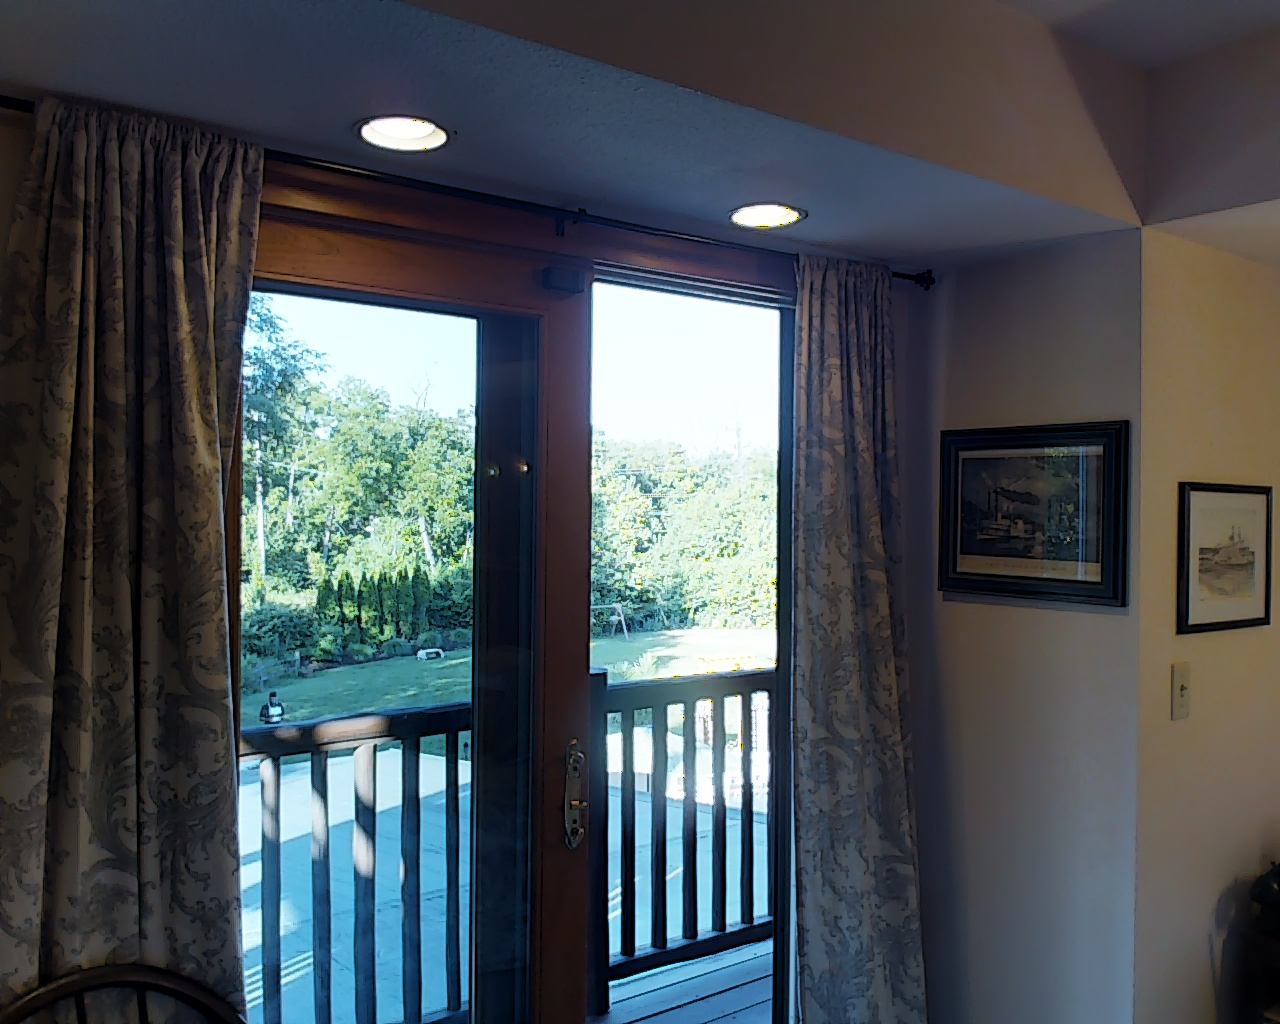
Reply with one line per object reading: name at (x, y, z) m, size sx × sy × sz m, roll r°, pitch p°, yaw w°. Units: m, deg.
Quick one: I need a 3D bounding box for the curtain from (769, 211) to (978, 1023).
curtain at (0.500, 0.480, 2.270) m, size 0.380 × 2.130 × 0.190 m, roll -1°, pitch 0°, yaw -36°

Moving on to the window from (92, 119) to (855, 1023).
window at (-0.170, 0.490, 2.030) m, size 1.500 × 2.120 × 0.130 m, roll -1°, pitch 0°, yaw -37°

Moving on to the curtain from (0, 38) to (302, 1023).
curtain at (-0.690, 0.490, 1.460) m, size 0.390 × 2.120 × 0.200 m, roll -1°, pitch 0°, yaw -37°

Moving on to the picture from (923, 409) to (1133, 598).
picture at (0.810, -0.010, 2.300) m, size 0.020 × 0.370 × 0.480 m, roll -1°, pitch -1°, yaw -37°

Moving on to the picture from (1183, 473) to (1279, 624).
picture at (1.270, 0.070, 2.280) m, size 0.410 × 0.300 × 0.030 m, roll -1°, pitch 0°, yaw -37°
